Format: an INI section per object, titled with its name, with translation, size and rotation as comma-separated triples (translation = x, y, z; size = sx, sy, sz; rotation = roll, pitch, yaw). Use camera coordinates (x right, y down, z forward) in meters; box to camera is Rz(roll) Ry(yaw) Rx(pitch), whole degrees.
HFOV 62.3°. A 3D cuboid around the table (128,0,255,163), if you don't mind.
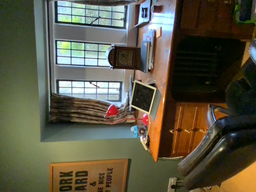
[table]
translation = 0.580, -0.340, 2.210
size = 0.940, 0.830, 1.680
rotation = -127, 40, -67
